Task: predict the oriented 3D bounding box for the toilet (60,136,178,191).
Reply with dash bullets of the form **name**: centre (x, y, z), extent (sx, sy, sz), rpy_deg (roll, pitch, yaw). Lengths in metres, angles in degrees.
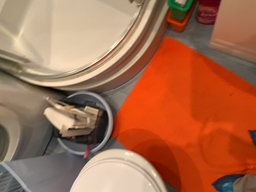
- **toilet**: centre (0.000, 0.440, 0.850), extent (0.360, 0.440, 0.490), rpy_deg (2, 85, 15)
